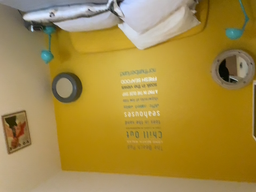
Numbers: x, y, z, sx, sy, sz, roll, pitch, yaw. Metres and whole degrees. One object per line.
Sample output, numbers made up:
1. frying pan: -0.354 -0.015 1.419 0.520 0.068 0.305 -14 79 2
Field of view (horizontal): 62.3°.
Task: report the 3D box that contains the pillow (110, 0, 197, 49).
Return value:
1. pillow: 0.240 -0.720 2.080 0.700 0.390 0.430 -1 -174 42
